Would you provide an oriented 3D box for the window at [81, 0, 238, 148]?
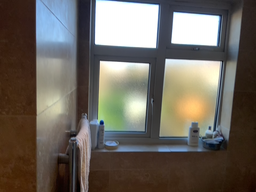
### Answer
[{"bbox_3d":[0.240,-0.210,1.650,1.170,1.260,0.050,1,8,-8],"label":"window"}]
